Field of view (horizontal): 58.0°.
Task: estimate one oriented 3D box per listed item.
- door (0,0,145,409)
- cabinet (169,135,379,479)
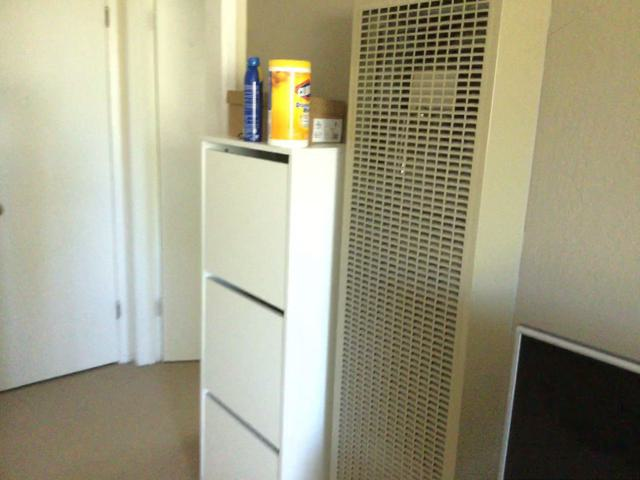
[{"bbox_3d":[-1.220,-0.310,2.680,0.660,2.050,0.200,-8,12,-39],"label":"door"},{"bbox_3d":[-0.170,0.350,1.860,0.290,1.340,0.700,-7,12,-38],"label":"cabinet"}]
